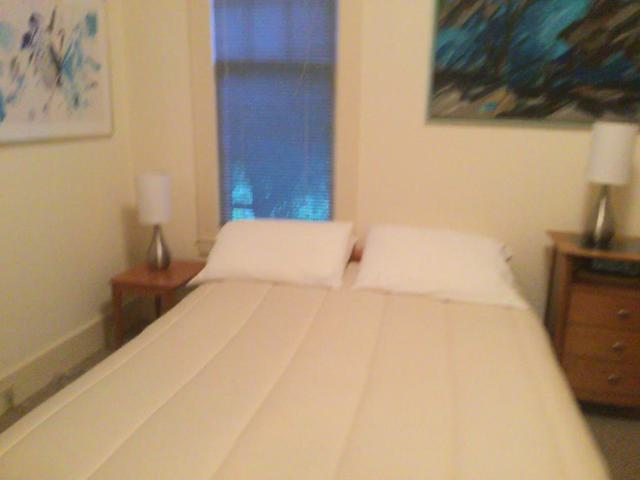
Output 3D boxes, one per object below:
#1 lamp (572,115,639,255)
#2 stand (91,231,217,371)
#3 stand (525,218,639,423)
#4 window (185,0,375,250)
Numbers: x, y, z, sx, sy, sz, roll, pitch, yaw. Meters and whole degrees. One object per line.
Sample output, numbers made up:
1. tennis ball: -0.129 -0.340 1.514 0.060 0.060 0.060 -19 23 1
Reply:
1. lamp: 1.230 -0.250 2.480 0.160 0.560 0.330 4 13 13
2. stand: -0.840 0.290 3.030 0.400 0.560 0.530 4 13 13
3. stand: 1.280 0.330 2.560 0.590 0.750 0.490 4 13 13
4. window: -0.200 -0.840 2.890 0.900 1.720 0.210 4 13 13
